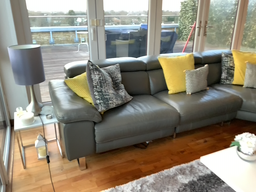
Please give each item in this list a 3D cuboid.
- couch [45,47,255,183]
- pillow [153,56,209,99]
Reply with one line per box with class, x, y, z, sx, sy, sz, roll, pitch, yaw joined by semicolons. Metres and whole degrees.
couch;0.710;-0.060;2.580;3.060;0.750;1.050;-9;23;-22
pillow;0.600;-0.220;2.450;0.510;0.420;0.180;-10;47;-25
